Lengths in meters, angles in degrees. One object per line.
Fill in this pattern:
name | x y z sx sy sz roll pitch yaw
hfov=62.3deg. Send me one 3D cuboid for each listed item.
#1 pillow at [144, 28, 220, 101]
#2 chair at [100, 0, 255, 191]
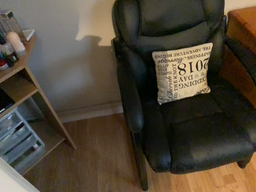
pillow | 0.270 -0.140 1.050 0.290 0.250 0.060 -34 39 15
chair | 0.280 -0.010 1.070 0.620 0.890 0.720 -12 46 -3
